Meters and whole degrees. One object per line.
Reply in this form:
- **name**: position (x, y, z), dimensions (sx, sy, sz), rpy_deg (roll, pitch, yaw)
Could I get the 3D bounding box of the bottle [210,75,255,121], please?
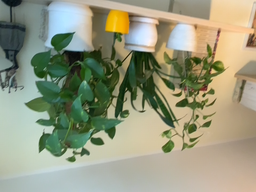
- **bottle**: position (0.950, 0.000, 1.740), dimensions (0.320, 0.260, 0.350), rpy_deg (-2, -160, -26)
